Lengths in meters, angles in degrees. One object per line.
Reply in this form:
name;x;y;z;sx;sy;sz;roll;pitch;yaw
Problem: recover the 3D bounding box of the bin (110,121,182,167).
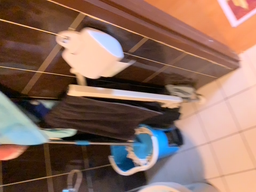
bin;0.120;0.340;1.510;0.370;0.300;0.220;-29;66;41
